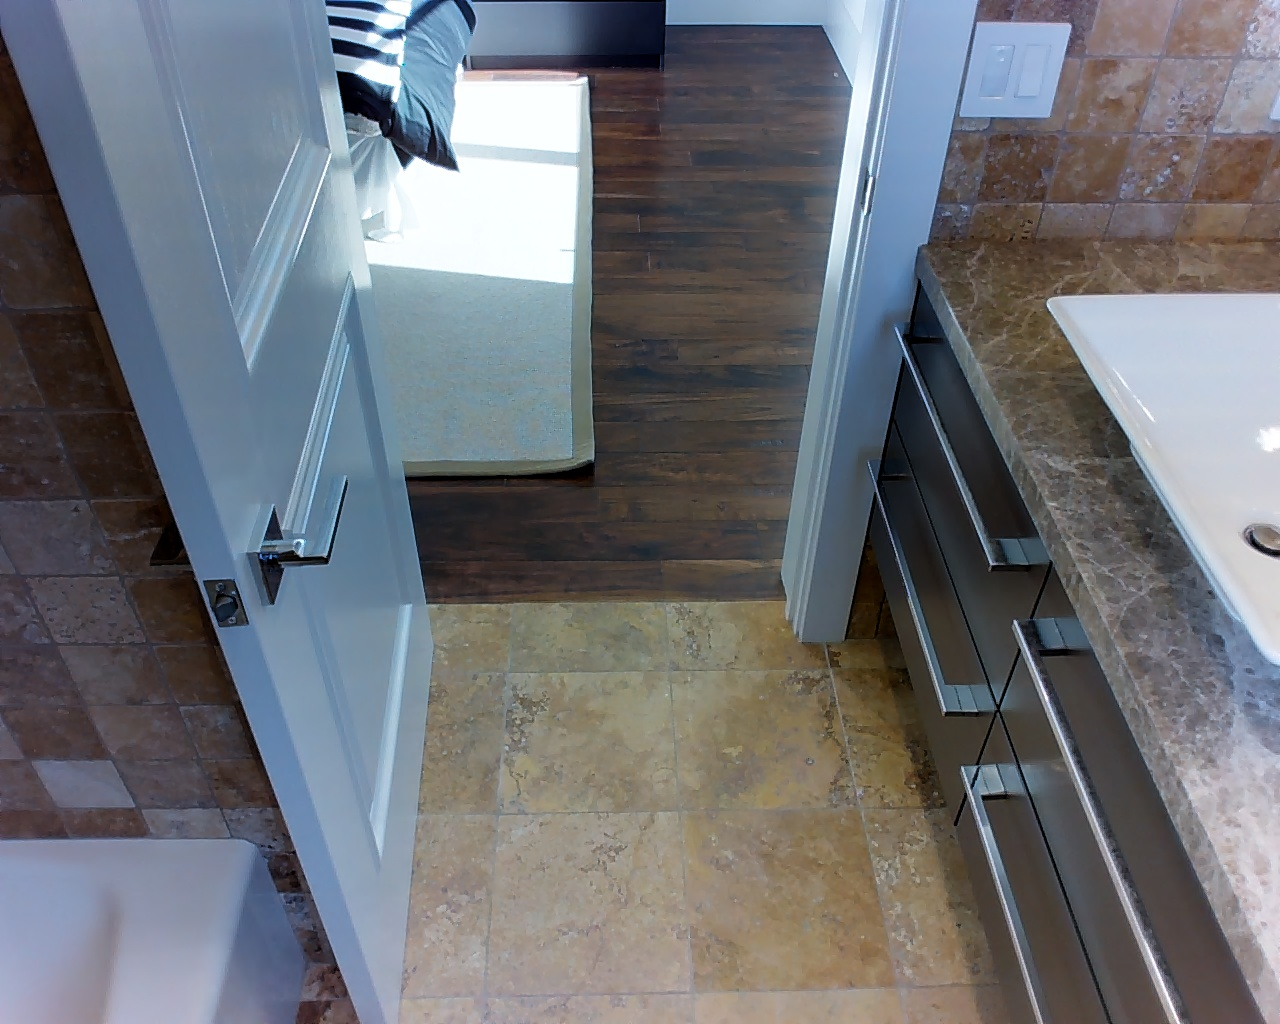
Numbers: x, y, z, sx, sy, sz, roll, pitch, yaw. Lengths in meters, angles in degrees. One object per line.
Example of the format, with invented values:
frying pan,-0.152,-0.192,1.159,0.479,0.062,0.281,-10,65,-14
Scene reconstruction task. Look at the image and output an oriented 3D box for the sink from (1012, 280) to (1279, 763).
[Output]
sink,0.690,-0.030,1.090,0.430,0.140,0.570,-1,41,-2
